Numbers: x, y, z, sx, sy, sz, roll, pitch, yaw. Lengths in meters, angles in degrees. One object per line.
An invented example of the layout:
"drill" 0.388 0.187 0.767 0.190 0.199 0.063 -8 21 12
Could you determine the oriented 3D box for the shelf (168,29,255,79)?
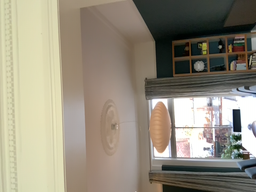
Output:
"shelf" 2.130 -1.000 5.240 0.430 2.160 0.990 9 -101 -75
